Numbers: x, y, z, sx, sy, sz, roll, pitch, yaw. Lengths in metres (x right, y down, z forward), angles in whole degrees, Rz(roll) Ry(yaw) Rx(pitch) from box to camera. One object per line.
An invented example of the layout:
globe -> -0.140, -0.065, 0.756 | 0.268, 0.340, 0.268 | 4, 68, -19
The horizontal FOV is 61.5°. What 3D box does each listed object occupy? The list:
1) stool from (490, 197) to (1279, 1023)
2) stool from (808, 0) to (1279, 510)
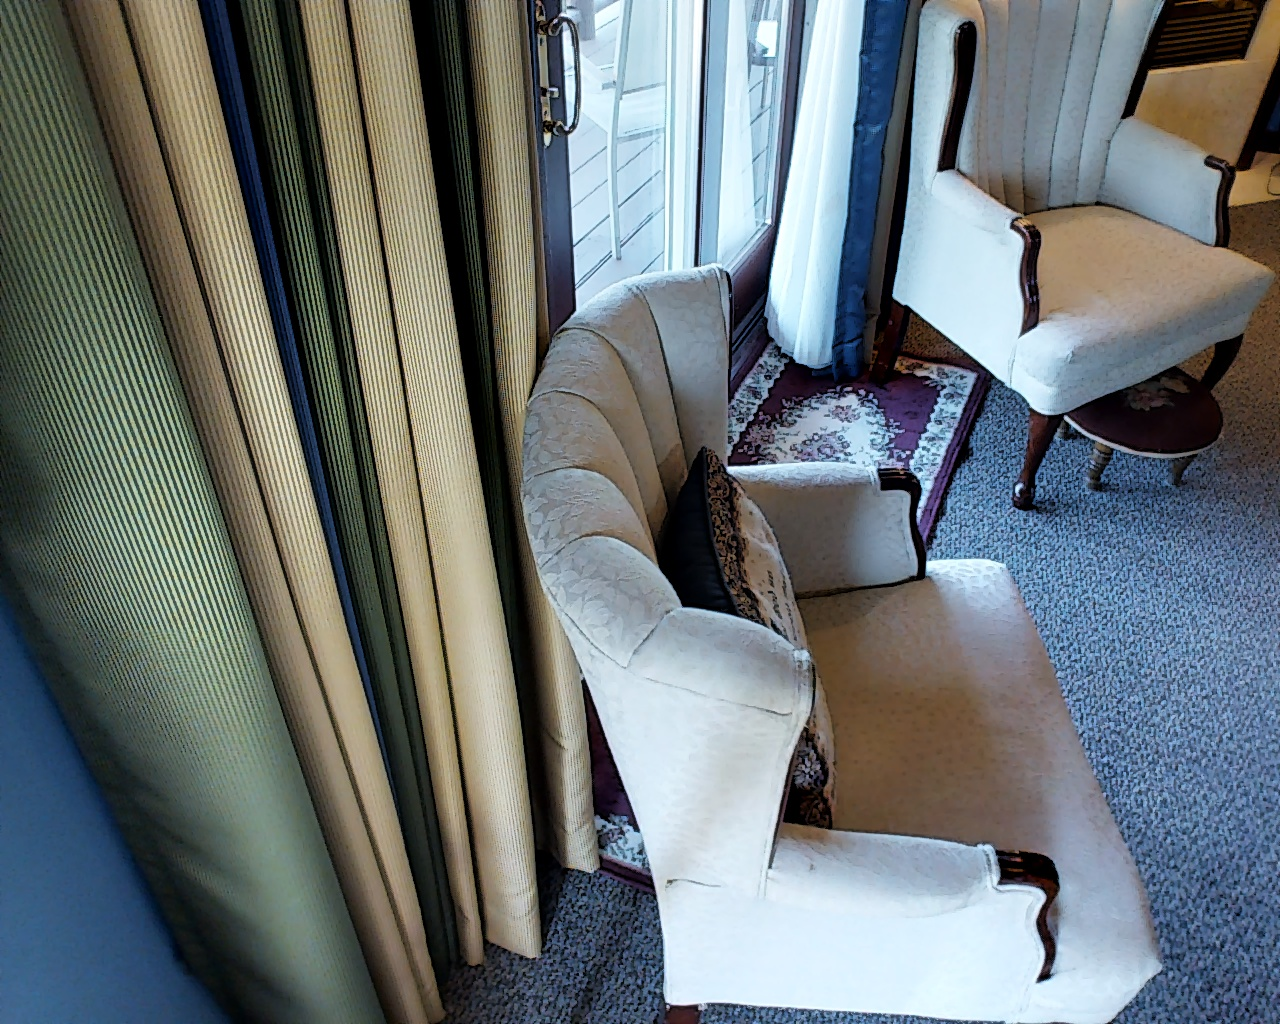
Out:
stool -> 0.250, 0.230, 1.390 | 0.760, 0.980, 0.750 | -2, 41, -3
stool -> 0.970, -0.690, 2.430 | 0.770, 0.900, 0.780 | -20, 45, -22
